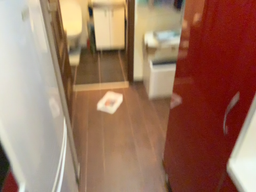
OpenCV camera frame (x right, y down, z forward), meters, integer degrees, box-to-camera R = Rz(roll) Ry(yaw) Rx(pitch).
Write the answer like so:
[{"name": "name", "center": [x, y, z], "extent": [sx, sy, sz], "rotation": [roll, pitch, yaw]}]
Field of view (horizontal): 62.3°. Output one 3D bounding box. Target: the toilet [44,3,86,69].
[{"name": "toilet", "center": [-0.980, -0.980, 3.480], "extent": [0.470, 0.910, 0.520], "rotation": [-3, 36, -5]}]
